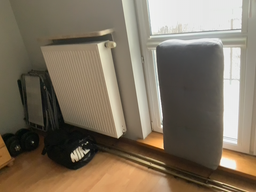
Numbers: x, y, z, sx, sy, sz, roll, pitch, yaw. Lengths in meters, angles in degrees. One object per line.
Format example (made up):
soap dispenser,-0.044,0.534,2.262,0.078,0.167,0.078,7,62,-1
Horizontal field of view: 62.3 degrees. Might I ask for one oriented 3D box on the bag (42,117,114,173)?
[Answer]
bag,-0.520,0.470,2.190,0.600,0.220,0.410,12,31,41
